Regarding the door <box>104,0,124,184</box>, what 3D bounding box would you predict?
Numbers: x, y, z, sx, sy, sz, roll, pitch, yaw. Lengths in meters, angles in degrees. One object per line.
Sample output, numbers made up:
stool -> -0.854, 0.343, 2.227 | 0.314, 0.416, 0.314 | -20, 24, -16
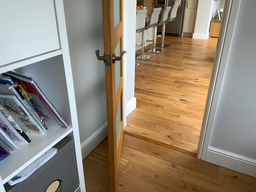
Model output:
door -> -0.070, -0.460, 1.370 | 0.070, 1.860, 0.900 | 1, 26, -1
